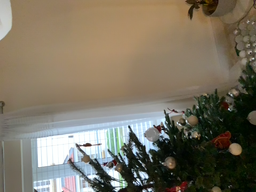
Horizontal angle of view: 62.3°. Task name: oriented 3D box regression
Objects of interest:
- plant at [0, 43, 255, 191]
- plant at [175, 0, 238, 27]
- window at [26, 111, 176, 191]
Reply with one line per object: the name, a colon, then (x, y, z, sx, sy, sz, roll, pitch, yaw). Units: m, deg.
plant: (0.390, 0.430, 1.170, 1.110, 1.850, 1.000, 129, 135, -72)
plant: (0.760, -0.900, 2.090, 0.280, 0.450, 0.300, 123, 140, -70)
window: (-0.220, 0.600, 1.910, 0.040, 1.270, 0.810, 132, 132, -73)
